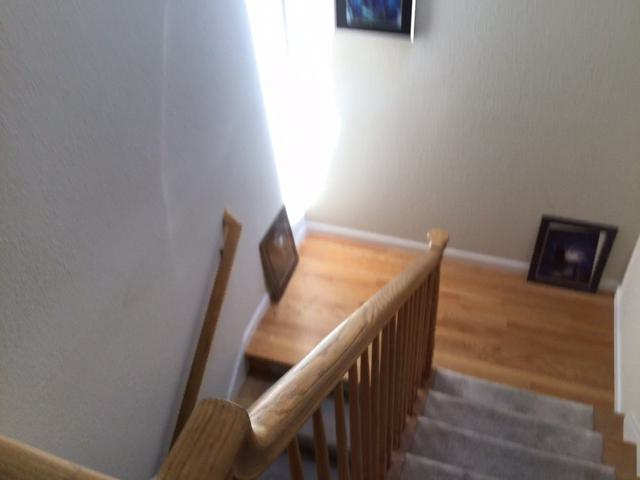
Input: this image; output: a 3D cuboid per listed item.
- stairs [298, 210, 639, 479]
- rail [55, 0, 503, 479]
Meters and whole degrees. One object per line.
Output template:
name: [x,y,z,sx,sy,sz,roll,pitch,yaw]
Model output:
stairs: [0.600,0.820,1.830,1.080,1.070,1.300,11,48,16]
rail: [0.200,0.360,1.710,0.240,1.950,1.630,11,48,16]
